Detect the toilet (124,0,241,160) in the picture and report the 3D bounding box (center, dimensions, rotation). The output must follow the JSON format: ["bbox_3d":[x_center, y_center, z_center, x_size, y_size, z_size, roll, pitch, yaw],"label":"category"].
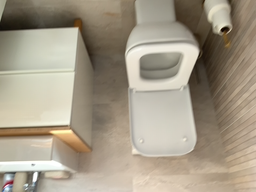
[{"bbox_3d":[0.200,-0.110,1.200,0.400,0.810,0.620,-3,155,2],"label":"toilet"}]
